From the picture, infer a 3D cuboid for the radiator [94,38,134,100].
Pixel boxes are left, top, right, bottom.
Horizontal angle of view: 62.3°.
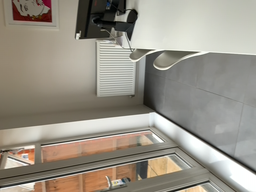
[{"bbox_3d":[-0.210,-0.390,3.090,0.150,0.550,0.860,-145,54,-62],"label":"radiator"}]
